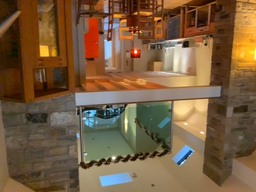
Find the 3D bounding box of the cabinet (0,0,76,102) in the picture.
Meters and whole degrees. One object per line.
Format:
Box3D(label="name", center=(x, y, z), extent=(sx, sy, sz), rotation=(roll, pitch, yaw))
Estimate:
Box3D(label="cabinet", center=(-1.200, -0.970, 2.530), extent=(0.700, 1.910, 0.810), rotation=(5, -168, 23))
